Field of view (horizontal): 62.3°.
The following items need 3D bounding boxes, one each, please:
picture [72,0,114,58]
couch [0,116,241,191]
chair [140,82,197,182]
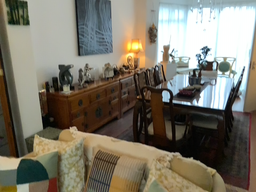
[{"bbox_3d":[-0.590,-1.260,3.910,0.050,1.020,1.130,9,18,27],"label":"picture"},{"bbox_3d":[-0.150,0.780,1.460,1.560,0.780,0.940,7,17,26],"label":"couch"},{"bbox_3d":[0.500,0.390,2.600,0.500,0.980,0.590,7,17,26],"label":"chair"}]
